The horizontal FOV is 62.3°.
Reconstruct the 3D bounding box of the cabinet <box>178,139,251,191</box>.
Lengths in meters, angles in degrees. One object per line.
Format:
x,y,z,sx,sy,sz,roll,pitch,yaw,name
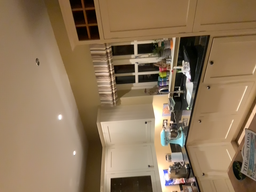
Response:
1.360,1.150,3.500,0.560,0.870,0.590,-94,1,-46,cabinet

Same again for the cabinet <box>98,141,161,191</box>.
0.010,1.310,3.600,1.010,0.950,0.340,-94,1,-46,cabinet
